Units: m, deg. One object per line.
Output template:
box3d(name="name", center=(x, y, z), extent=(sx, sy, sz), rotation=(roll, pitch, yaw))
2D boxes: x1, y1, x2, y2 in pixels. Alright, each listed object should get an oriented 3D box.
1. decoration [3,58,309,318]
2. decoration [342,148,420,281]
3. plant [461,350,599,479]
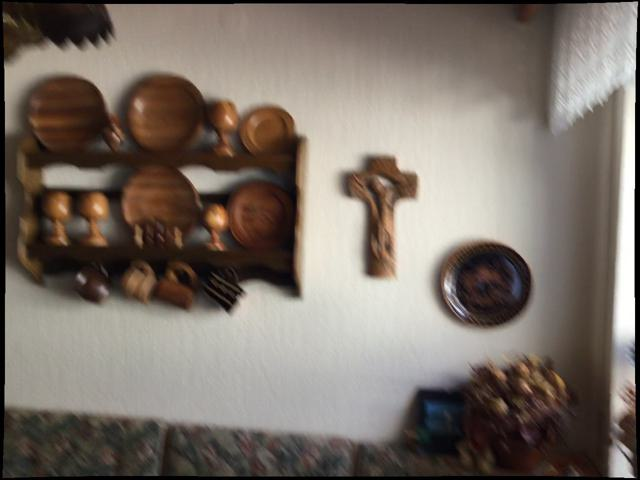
box3d(name="decoration", center=(-0.589, -0.190, 2.060), extent=(1.069, 0.861, 0.140), rotation=(2, 3, 7))
box3d(name="decoration", center=(0.210, -0.090, 2.010), extent=(0.250, 0.450, 0.050), rotation=(2, 3, 7))
box3d(name="plant", center=(0.639, 0.541, 1.810), extent=(0.350, 0.320, 0.230), rotation=(2, 3, 7))
